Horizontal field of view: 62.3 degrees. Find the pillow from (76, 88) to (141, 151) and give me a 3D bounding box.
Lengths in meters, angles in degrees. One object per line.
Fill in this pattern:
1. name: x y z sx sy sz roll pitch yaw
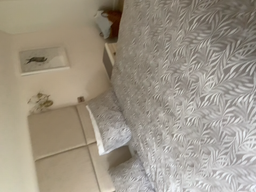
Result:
1. pillow: -0.240 0.270 2.580 0.650 0.420 0.220 39 139 13
